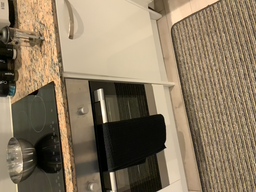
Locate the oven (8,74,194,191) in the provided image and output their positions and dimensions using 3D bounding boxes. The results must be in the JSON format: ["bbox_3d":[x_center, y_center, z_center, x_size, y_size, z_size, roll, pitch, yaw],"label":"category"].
[{"bbox_3d":[-0.130,0.270,1.330,0.600,0.910,0.600,-16,79,42],"label":"oven"}]
